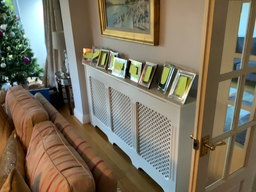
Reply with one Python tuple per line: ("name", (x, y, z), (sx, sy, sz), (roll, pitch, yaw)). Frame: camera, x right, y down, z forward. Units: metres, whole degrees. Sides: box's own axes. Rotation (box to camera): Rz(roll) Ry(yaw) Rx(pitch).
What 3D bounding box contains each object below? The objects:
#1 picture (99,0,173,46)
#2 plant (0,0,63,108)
("picture", (0.000, -0.860, 1.830), (0.050, 0.710, 1.090), (-15, 25, -28))
("plant", (-2.200, -1.090, 3.840), (1.320, 2.200, 1.080), (-21, 29, -38))
